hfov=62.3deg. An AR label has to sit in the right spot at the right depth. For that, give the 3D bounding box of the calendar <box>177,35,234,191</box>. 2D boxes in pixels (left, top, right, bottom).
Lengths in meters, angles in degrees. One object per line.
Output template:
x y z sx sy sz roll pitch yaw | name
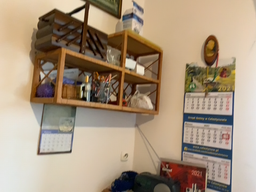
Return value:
0.490 0.110 1.350 0.290 0.940 0.080 0 -7 42 | calendar

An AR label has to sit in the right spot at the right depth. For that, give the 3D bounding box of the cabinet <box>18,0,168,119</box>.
-0.130 -0.150 1.320 0.290 0.530 0.890 0 -7 42 | cabinet
